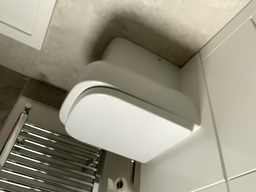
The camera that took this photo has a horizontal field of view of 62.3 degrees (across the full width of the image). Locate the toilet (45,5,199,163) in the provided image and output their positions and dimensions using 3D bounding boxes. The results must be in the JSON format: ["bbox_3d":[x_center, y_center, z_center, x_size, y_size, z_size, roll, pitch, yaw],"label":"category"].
[{"bbox_3d":[-0.020,-0.030,0.980,0.490,0.450,0.370,25,136,-21],"label":"toilet"}]
